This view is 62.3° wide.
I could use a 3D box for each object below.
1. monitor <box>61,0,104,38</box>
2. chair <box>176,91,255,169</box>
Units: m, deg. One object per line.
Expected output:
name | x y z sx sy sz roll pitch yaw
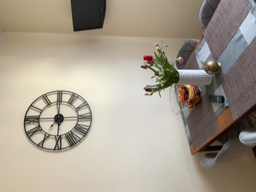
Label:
monitor | -0.460 -0.840 2.230 0.700 0.350 0.040 96 -9 -72
chair | 0.890 0.290 1.770 0.450 0.770 0.490 106 -18 -58
